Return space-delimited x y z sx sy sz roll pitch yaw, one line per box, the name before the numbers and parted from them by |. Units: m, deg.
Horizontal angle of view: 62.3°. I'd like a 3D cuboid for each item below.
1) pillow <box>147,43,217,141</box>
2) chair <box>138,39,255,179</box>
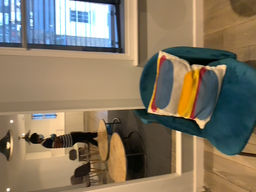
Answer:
pillow | 0.380 -0.040 1.520 0.210 0.440 0.540 26 127 25
chair | 0.560 0.020 1.490 0.710 0.680 0.640 -128 41 -57
